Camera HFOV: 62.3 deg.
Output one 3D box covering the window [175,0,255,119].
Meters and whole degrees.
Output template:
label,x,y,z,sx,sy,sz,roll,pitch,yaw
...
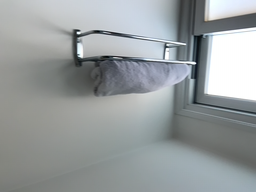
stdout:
label,x,y,z,sx,sy,sz,roll,pitch,yaw
window,0.640,-0.340,1.020,0.130,0.880,0.850,-4,-169,-39
